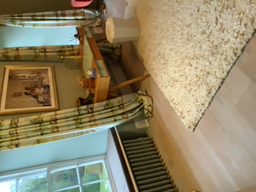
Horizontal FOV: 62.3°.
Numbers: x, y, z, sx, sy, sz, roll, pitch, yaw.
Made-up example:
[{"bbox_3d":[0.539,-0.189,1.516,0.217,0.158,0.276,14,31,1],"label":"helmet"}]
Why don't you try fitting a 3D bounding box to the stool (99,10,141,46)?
[{"bbox_3d":[-0.130,-0.970,3.040,0.380,0.460,0.360,-115,28,-42],"label":"stool"}]
